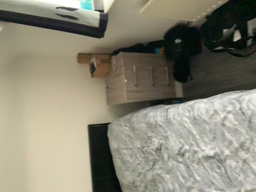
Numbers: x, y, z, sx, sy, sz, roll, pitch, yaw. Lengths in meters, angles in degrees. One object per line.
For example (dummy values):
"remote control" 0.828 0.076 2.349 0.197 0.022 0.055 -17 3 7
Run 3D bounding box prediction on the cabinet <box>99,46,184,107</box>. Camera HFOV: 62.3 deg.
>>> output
"cabinet" 0.110 -0.180 2.350 0.640 0.670 0.510 161 105 -64
